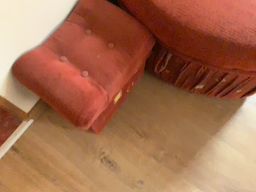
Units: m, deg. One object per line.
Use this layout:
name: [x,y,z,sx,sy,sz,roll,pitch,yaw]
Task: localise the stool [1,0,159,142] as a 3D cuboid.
stool: [-0.150,-0.110,0.890,0.330,0.380,0.430,34,72,12]
